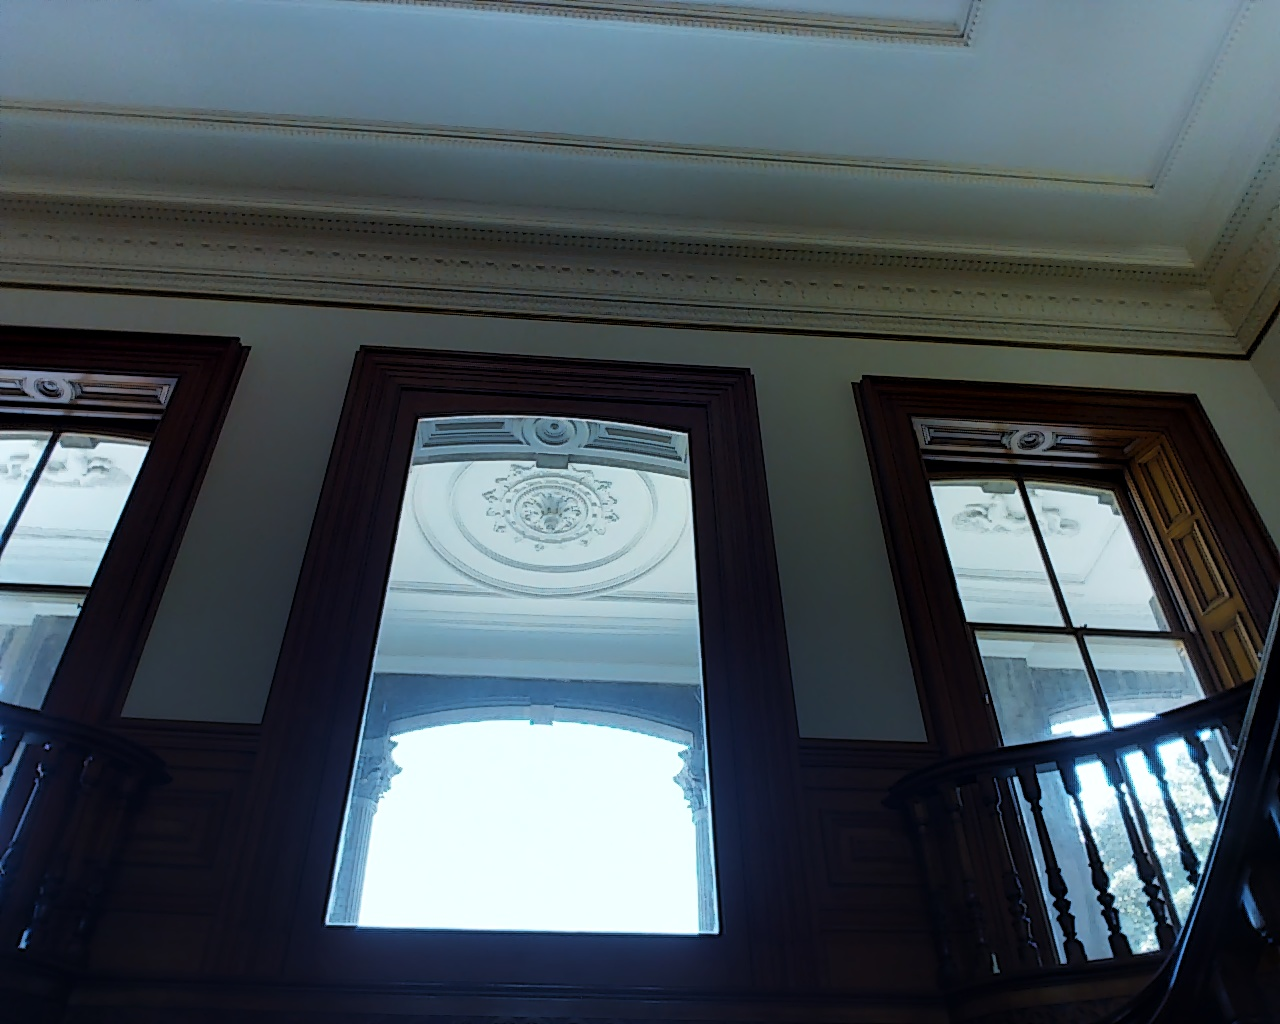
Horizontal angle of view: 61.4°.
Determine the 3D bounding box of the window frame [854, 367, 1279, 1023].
[{"bbox_3d":[2.309,0.640,5.260,1.949,3.461,0.460,2,-42,-3],"label":"window frame"}]
